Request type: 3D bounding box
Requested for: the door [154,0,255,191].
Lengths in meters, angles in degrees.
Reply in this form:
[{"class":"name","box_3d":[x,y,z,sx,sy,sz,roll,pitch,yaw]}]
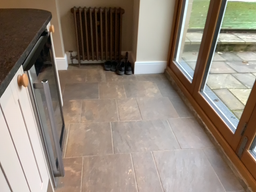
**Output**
[{"class":"door","box_3d":[0.760,-0.580,1.400,0.210,2.260,2.480,-3,33,-11]}]
